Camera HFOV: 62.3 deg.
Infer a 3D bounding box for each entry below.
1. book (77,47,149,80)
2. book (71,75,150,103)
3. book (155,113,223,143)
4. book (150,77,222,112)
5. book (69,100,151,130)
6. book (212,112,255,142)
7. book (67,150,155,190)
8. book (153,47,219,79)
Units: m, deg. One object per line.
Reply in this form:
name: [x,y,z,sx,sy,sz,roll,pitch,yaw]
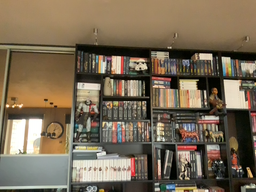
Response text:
book: [-0.160,-0.350,2.350,0.760,0.290,0.200,1,-11,-6]
book: [-0.180,-0.070,2.290,0.800,0.250,0.200,1,-11,-6]
book: [0.660,0.350,2.330,0.690,0.310,0.150,1,-11,-6]
book: [0.630,-0.010,2.370,0.740,0.340,0.210,1,-11,-6]
book: [-0.180,0.210,2.260,0.820,0.290,0.210,1,-11,-6]
book: [1.390,0.360,2.440,0.750,0.320,0.230,1,-11,-6]
book: [-0.170,0.750,2.220,0.830,0.330,0.370,1,-11,-6]
book: [0.650,-0.370,2.430,0.700,0.300,0.180,1,-11,-6]
